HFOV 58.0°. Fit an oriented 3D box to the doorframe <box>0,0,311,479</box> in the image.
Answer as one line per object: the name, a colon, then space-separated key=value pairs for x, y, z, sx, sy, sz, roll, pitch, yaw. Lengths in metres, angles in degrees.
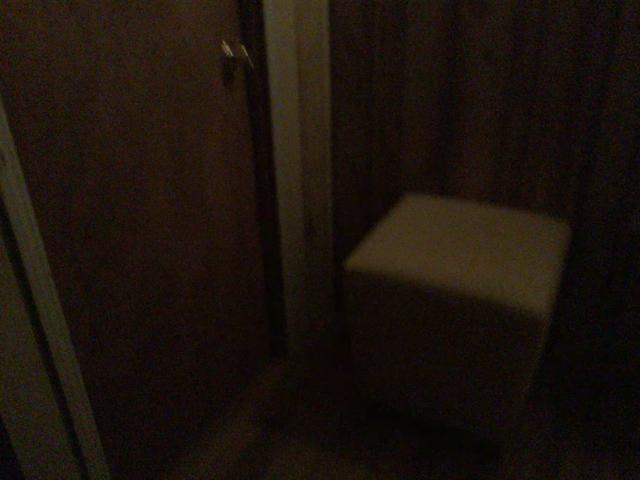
doorframe: x=-0.330 y=-0.320 z=1.230 sx=0.140 sy=2.100 sz=0.920 roll=12 pitch=26 yaw=27

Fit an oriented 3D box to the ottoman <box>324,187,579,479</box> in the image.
ottoman: x=0.380 y=0.230 z=1.700 sx=0.560 sy=0.580 sz=0.500 roll=12 pitch=26 yaw=27
